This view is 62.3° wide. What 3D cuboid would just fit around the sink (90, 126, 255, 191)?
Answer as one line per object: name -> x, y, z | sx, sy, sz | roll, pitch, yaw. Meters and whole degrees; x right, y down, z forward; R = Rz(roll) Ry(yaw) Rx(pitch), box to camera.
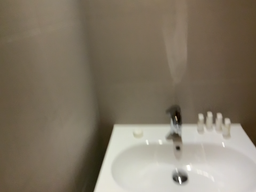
sink -> 0.220, 0.320, 0.900 | 0.650, 0.180, 0.440 | -1, 23, 7
